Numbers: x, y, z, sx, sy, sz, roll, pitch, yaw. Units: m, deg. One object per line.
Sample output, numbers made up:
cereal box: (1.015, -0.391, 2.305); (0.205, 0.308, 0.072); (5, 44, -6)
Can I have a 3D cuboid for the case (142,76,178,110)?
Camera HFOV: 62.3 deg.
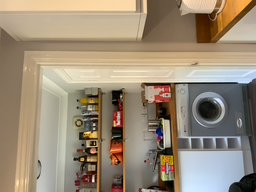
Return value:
case: (0.360, -0.010, 2.630); (0.790, 0.300, 0.250); (100, 169, -78)
